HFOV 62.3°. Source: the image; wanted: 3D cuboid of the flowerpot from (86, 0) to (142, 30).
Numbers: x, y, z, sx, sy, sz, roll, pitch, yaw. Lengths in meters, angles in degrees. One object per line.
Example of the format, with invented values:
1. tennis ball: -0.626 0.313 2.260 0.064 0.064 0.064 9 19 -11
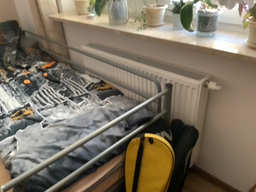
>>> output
1. flowerpot: -0.100 -0.690 1.410 0.320 0.410 0.220 24 40 37
